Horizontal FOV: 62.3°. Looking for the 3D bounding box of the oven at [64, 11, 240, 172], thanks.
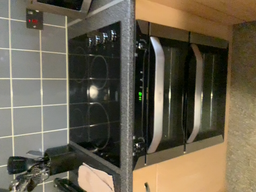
[{"bbox_3d":[0.160,-0.050,1.320,0.610,0.900,0.610,7,98,51],"label":"oven"}]
